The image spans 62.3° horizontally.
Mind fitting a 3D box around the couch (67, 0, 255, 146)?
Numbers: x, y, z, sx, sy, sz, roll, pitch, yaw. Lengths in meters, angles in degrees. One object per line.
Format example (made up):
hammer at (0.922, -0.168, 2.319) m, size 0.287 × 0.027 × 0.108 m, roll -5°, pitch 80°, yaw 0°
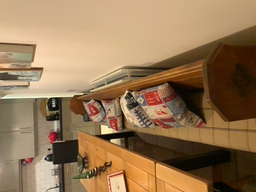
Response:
couch at (0.080, -0.010, 2.370) m, size 3.080 × 0.920 × 0.580 m, roll -9°, pitch 83°, yaw 63°
